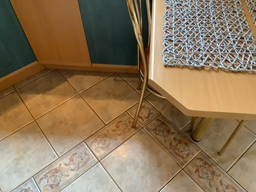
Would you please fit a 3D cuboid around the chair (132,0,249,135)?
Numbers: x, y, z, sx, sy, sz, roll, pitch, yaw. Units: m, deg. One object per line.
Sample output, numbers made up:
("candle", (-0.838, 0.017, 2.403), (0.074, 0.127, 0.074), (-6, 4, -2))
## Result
("chair", (0.220, -0.180, 1.130), (0.360, 0.860, 0.390), (5, 53, 4))
